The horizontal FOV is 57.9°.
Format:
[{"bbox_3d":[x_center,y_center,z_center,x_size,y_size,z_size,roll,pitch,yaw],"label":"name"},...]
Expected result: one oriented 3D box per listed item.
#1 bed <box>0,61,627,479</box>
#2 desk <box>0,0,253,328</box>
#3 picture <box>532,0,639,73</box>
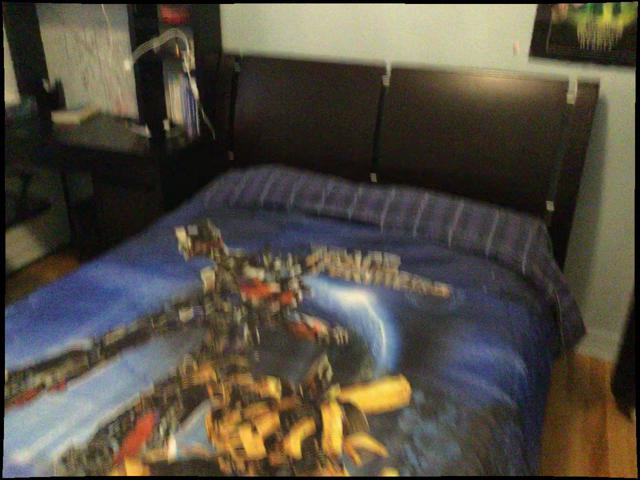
[{"bbox_3d":[-0.160,0.200,1.530,1.549,0.881,2.160,12,29,22],"label":"bed"},{"bbox_3d":[-0.969,-0.470,2.530,1.129,1.371,0.600,10,28,20],"label":"desk"},{"bbox_3d":[0.949,-0.821,1.820,0.450,0.550,0.060,10,28,20],"label":"picture"}]
